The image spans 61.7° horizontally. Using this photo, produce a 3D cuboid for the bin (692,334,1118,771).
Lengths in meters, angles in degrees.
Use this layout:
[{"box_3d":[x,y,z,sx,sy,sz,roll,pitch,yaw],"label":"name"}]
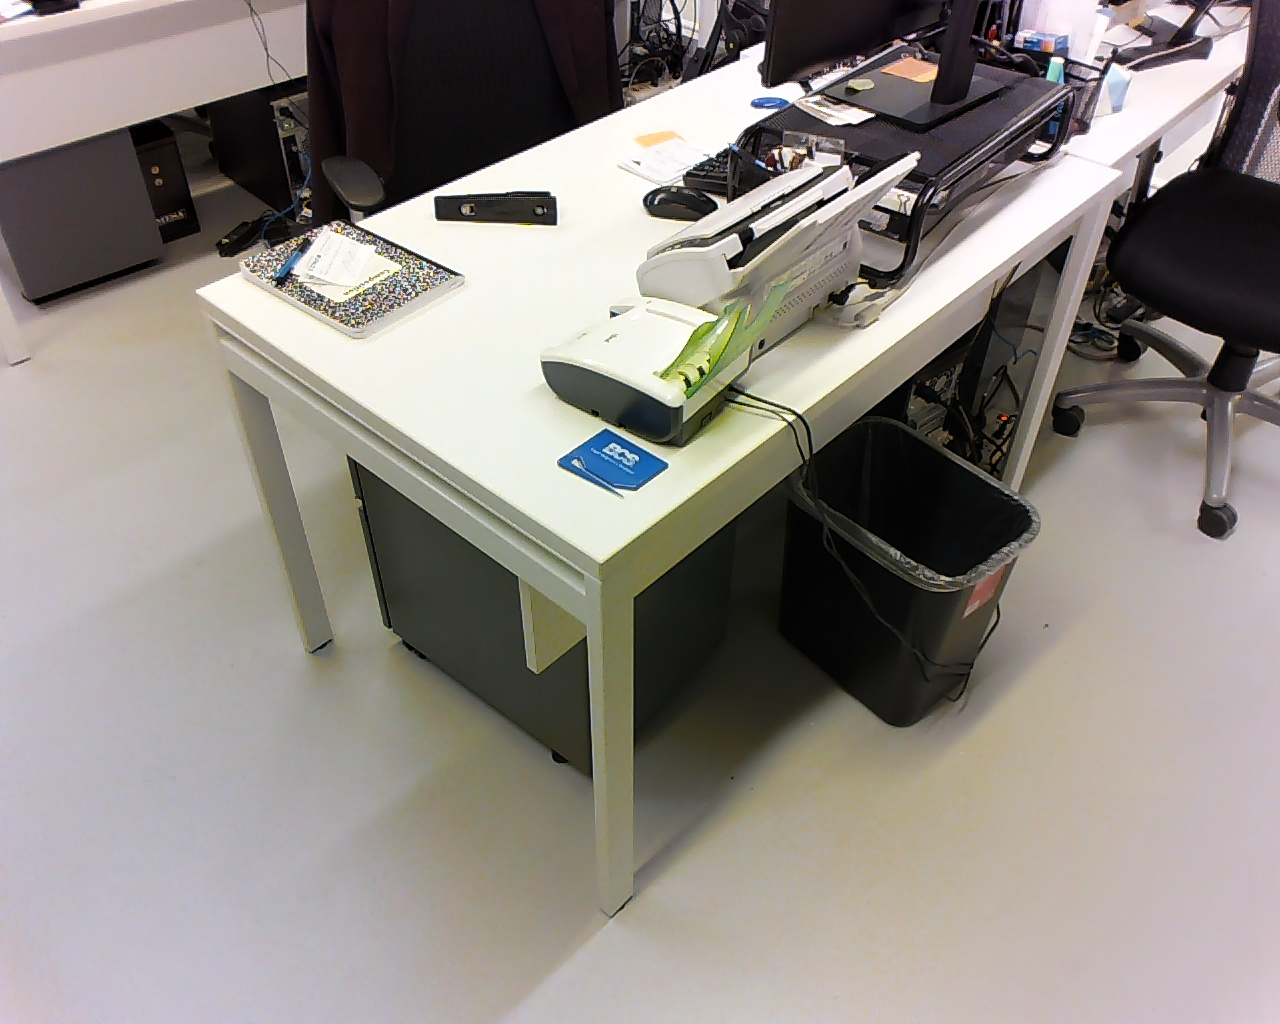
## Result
[{"box_3d":[0.420,0.050,1.840,0.390,0.420,0.520,-34,52,-31],"label":"bin"}]
